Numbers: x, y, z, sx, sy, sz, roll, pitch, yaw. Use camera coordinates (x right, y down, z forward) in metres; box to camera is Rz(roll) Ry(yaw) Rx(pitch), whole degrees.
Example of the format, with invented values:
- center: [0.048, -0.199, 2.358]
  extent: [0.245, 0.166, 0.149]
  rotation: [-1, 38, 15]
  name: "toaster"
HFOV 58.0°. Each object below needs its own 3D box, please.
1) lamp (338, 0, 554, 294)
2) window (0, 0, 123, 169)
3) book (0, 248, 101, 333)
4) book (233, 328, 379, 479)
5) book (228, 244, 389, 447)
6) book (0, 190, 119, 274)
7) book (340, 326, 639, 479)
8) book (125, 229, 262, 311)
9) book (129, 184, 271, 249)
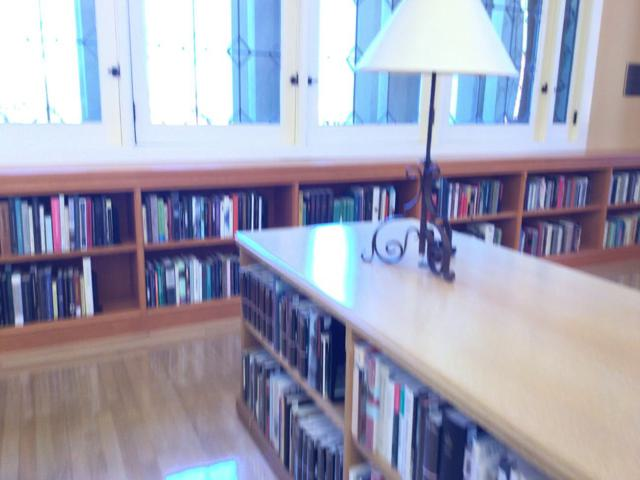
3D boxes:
- center: [0.340, -0.330, 1.680]
  extent: [0.430, 0.860, 0.370]
  rotation: [-4, 13, -24]
  name: "lamp"
- center: [-1.630, -1.160, 2.910]
  extent: [1.130, 1.580, 0.180]
  rotation: [-4, 13, -24]
  name: "window"
- center: [-1.540, 0.260, 3.020]
  extent: [0.700, 0.330, 0.330]
  rotation: [-4, 13, -24]
  name: "book"
- center: [-0.100, 0.630, 2.010]
  extent: [0.150, 0.340, 0.920]
  rotation: [-4, 13, -24]
  name: "book"
- center: [-0.090, 0.280, 1.910]
  extent: [0.190, 0.350, 0.870]
  rotation: [-4, 13, -24]
  name: "book"
- center: [-1.490, -0.050, 2.980]
  extent: [0.810, 0.360, 0.320]
  rotation: [-4, 13, -24]
  name: "book"
- center: [0.290, 0.510, 1.170]
  extent: [0.140, 0.410, 0.810]
  rotation: [-4, 13, -24]
  name: "book"
- center: [-0.730, 0.160, 3.360]
  extent: [0.730, 0.360, 0.270]
  rotation: [-4, 13, -24]
  name: "book"
- center: [-0.680, -0.150, 3.310]
  extent: [0.750, 0.300, 0.260]
  rotation: [-4, 13, -24]
  name: "book"
